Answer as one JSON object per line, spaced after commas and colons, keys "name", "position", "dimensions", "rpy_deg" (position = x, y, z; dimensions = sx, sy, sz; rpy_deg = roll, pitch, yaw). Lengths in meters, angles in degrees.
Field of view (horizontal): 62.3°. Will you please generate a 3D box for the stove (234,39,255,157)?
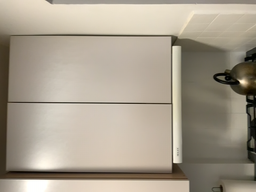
{"name": "stove", "position": [0.720, 0.010, 1.100], "dimensions": [0.590, 0.050, 0.640], "rpy_deg": [72, -161, -88]}
